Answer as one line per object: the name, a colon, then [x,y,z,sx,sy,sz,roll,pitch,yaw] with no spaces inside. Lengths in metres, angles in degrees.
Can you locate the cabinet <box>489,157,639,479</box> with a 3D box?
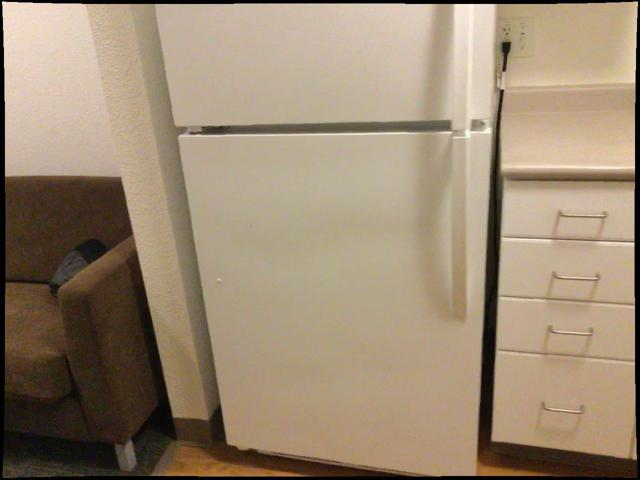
cabinet: [0.979,0.240,1.340,1.109,0.871,0.110,1,24,17]

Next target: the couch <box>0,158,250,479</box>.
couch: [-1.299,0.200,2.180,1.748,0.751,0.920,1,24,17]
